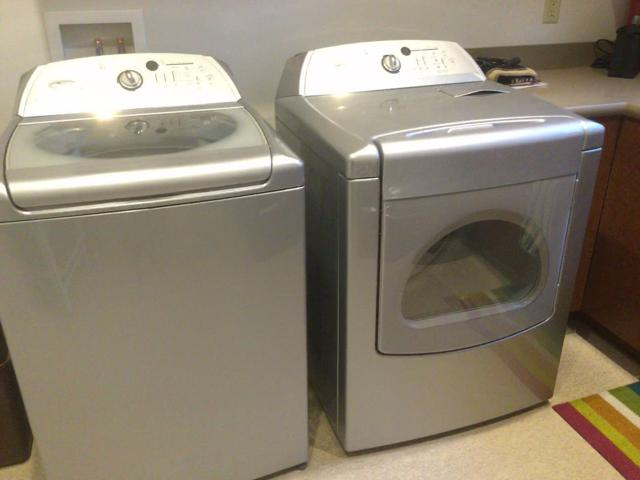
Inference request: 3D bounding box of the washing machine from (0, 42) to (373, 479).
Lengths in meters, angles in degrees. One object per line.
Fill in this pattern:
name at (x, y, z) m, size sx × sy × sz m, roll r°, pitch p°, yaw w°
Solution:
washing machine at (-0.390, 0.080, 1.600) m, size 0.820 × 1.100 × 0.700 m, roll -9°, pitch 25°, yaw -18°
